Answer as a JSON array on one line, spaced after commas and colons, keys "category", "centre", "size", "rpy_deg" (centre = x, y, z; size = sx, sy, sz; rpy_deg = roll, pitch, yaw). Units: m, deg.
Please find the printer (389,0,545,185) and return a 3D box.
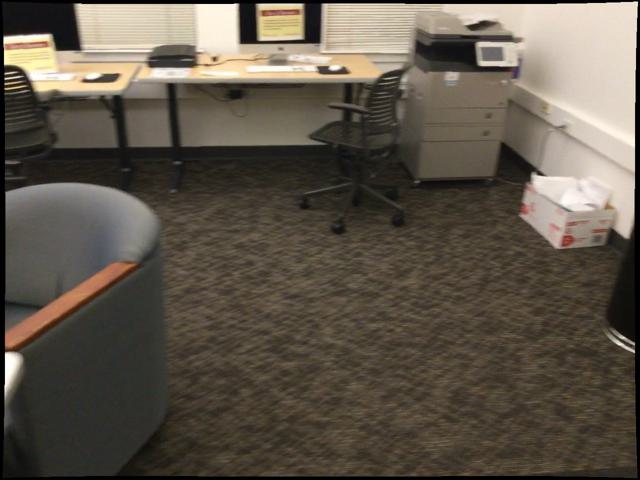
[{"category": "printer", "centre": [0.899, -1.001, 3.840], "size": [0.669, 1.021, 0.800], "rpy_deg": [-2, 28, -5]}]
